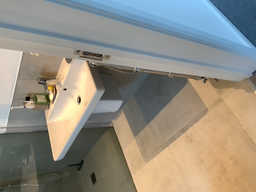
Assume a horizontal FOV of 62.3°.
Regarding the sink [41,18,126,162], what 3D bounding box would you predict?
[{"bbox_3d":[-0.370,0.010,1.430,0.890,0.160,0.470,-54,48,37],"label":"sink"}]
